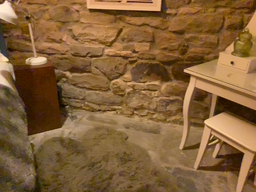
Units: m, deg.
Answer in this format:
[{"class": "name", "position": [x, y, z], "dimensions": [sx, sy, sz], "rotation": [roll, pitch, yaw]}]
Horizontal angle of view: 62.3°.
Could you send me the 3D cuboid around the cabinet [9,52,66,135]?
[{"class": "cabinet", "position": [-0.880, -0.040, 2.080], "dimensions": [0.380, 0.660, 0.390], "rotation": [-11, 29, -24]}]
